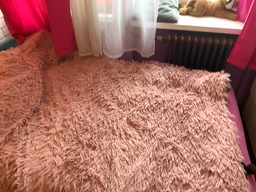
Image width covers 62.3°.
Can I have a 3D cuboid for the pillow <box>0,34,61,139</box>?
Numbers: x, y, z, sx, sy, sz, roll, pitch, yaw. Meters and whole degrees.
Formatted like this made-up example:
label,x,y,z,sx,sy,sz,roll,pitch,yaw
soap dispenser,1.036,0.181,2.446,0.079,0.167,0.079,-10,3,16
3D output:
label,x,y,z,sx,sy,sz,roll,pitch,yaw
pillow,-0.860,-0.070,1.270,0.520,0.210,0.920,7,40,8
